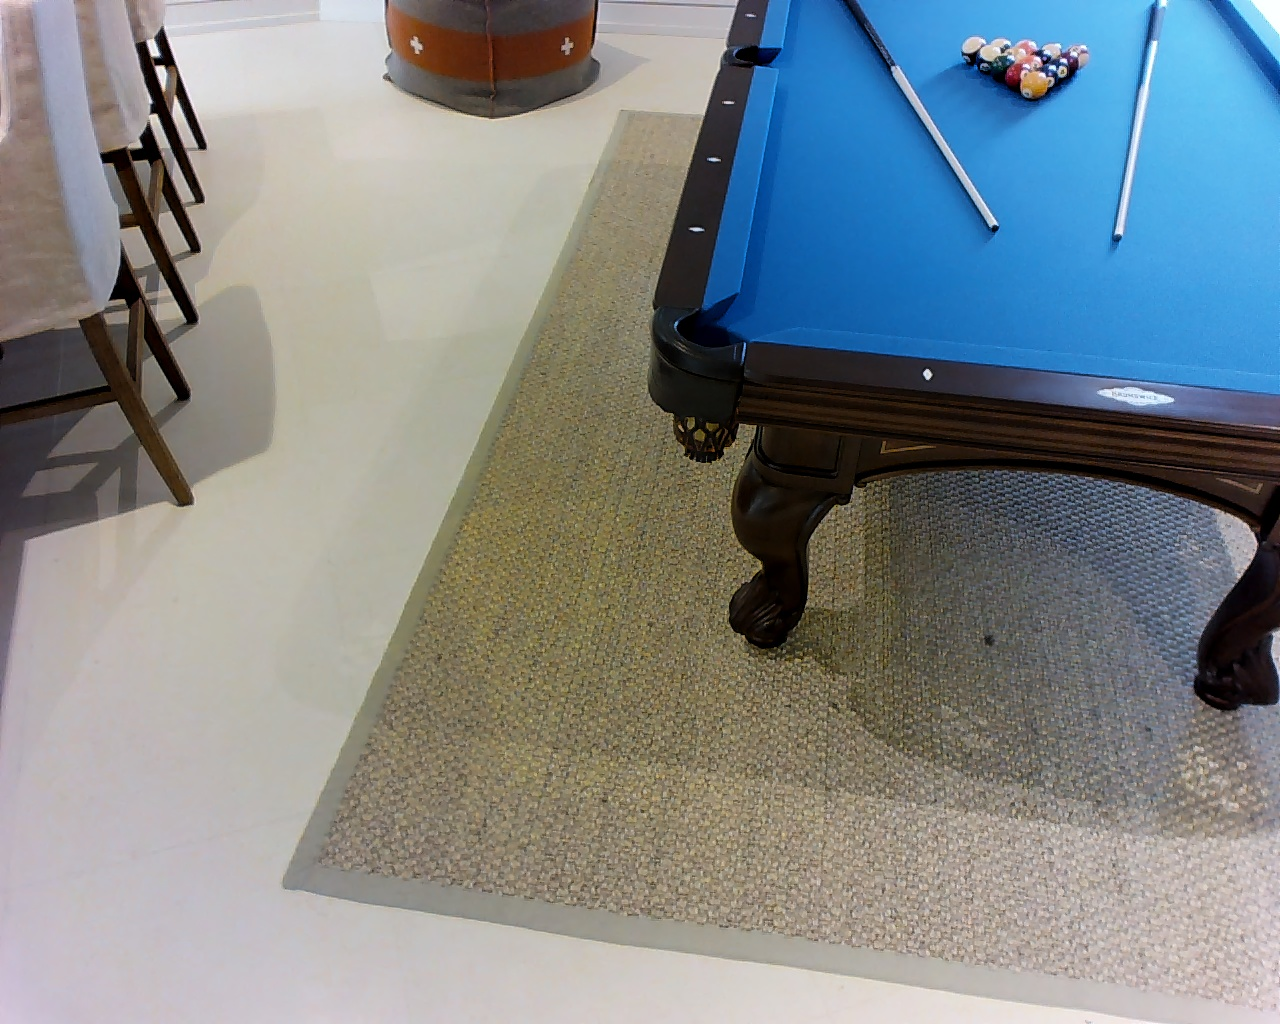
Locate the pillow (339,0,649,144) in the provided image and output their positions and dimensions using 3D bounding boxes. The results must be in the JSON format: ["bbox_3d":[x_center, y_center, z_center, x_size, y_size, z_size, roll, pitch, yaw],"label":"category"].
[{"bbox_3d":[-0.570,-2.000,4.290,0.860,0.560,0.870,28,49,28],"label":"pillow"}]

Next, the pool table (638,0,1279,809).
[{"bbox_3d":[0.880,-0.670,2.600,1.380,0.830,2.540,6,42,7],"label":"pool table"}]
